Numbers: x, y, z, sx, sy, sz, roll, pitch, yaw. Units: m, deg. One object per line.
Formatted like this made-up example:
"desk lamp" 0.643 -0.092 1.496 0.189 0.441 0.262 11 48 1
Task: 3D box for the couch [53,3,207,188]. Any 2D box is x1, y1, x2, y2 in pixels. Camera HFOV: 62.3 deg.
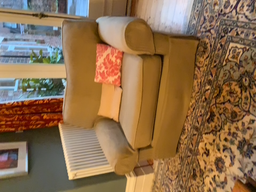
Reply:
"couch" -0.160 -0.130 2.000 1.140 0.930 1.240 -137 50 -58
